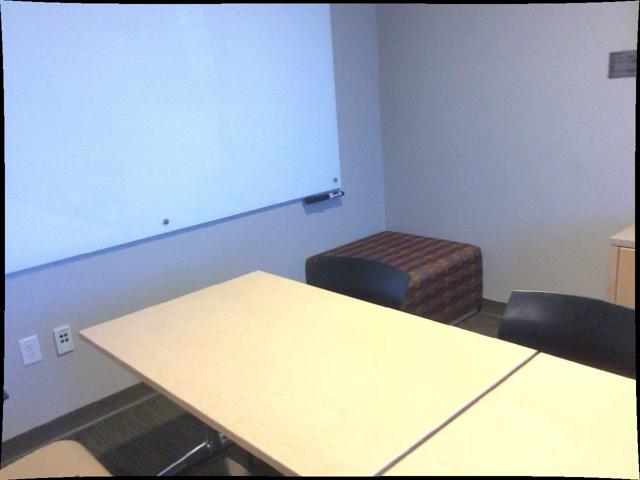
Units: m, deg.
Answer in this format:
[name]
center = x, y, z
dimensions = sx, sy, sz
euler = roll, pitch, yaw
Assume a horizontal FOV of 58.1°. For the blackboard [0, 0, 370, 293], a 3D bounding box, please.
[blackboard]
center = -0.699, -0.671, 2.640
dimensions = 2.608, 1.362, 0.110
euler = -19, 22, -41
